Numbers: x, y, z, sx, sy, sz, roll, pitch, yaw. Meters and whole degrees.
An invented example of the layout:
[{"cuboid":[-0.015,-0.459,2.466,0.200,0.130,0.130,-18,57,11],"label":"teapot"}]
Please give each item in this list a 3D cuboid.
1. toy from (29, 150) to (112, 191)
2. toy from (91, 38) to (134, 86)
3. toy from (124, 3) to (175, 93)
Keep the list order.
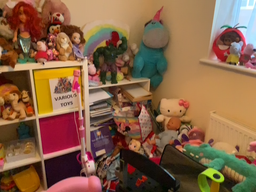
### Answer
[{"cuboid":[-0.390,0.720,1.420,0.420,0.450,0.440,-9,23,-27],"label":"toy"},{"cuboid":[-0.140,-0.320,1.940,0.330,0.390,0.190,-9,23,-28],"label":"toy"},{"cuboid":[0.180,-0.450,2.000,0.290,0.750,0.340,-9,23,-27],"label":"toy"}]
